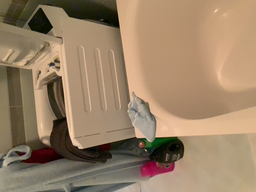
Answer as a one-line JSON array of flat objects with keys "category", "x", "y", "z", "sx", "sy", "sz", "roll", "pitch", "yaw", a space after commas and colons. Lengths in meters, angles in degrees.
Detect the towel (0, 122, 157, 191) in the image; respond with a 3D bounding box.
[{"category": "towel", "x": -0.370, "y": 0.390, "z": 1.120, "sx": 0.200, "sy": 1.320, "sz": 0.350, "roll": -8, "pitch": 86, "yaw": 48}]
